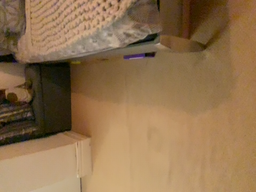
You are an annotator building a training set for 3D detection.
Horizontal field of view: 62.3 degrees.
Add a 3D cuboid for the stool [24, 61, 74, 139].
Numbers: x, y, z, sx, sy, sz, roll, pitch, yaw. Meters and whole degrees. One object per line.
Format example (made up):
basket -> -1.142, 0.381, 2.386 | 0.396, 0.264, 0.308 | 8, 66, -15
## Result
stool -> -0.920, 0.020, 2.470 | 0.390, 0.390, 0.810 | 5, 99, 50
